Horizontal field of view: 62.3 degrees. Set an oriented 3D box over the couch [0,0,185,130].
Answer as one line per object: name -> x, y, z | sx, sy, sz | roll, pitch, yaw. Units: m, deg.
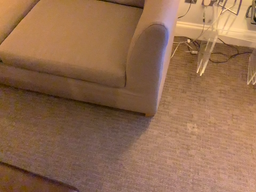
couch -> -0.710, -0.620, 1.530 | 2.110, 0.800, 0.970 | 13, 56, 11
